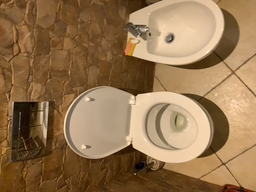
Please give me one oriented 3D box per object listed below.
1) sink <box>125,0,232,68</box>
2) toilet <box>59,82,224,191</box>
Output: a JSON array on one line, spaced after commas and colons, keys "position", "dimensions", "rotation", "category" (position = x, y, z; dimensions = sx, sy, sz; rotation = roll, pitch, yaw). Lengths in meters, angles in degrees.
[{"position": [0.300, -0.360, 1.260], "dimensions": [0.510, 0.340, 0.330], "rotation": [6, 93, 32], "category": "sink"}, {"position": [0.150, 0.160, 1.120], "dimensions": [0.510, 0.820, 0.380], "rotation": [7, 93, 32], "category": "toilet"}]
